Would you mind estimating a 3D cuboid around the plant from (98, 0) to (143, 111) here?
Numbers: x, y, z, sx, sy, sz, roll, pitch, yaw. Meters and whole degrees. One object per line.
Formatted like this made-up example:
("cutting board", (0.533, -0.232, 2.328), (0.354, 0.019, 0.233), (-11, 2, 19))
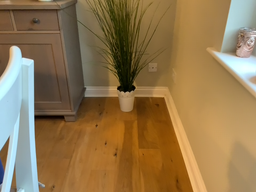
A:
("plant", (-0.050, -0.360, 1.760), (0.310, 0.950, 0.300), (1, 29, 1))
